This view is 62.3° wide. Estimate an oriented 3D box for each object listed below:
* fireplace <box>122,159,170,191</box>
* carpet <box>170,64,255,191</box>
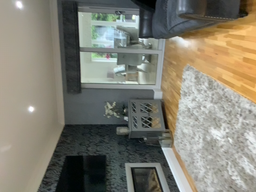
[{"bbox_3d":[0.260,1.460,3.380,0.920,0.620,0.380,-105,17,-69],"label":"fireplace"},{"bbox_3d":[0.960,0.540,2.770,2.050,0.070,1.580,-108,20,-71],"label":"carpet"}]
